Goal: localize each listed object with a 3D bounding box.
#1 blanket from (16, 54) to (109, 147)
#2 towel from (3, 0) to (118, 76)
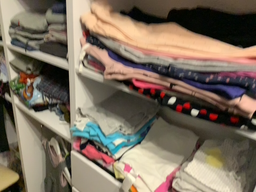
[{"bbox_3d":[-0.350,-0.010,1.120,0.430,0.310,0.250,23,29,35],"label":"blanket"},{"bbox_3d":[-0.320,-0.300,1.000,0.450,0.250,0.300,23,29,35],"label":"towel"}]
